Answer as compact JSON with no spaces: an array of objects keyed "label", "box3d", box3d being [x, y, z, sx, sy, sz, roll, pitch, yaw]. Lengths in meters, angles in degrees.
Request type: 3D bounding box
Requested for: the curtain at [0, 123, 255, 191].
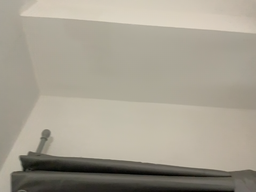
[{"label":"curtain","box3d":[0.420,0.430,1.020,0.360,1.880,0.310,-88,2,-45]}]
